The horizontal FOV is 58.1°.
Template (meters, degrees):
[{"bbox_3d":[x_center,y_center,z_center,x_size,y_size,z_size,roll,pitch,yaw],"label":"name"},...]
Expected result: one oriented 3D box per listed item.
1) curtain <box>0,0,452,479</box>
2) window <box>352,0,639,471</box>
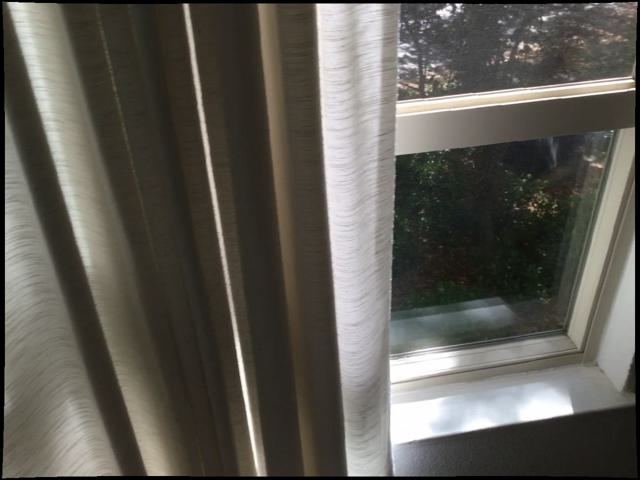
[{"bbox_3d":[-0.449,0.160,0.790,1.147,1.062,0.240,-6,32,-6],"label":"curtain"},{"bbox_3d":[0.339,-0.150,0.920,0.539,1.192,0.210,-7,32,-7],"label":"window"}]
